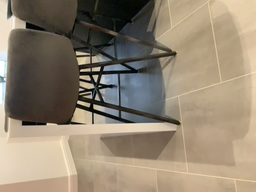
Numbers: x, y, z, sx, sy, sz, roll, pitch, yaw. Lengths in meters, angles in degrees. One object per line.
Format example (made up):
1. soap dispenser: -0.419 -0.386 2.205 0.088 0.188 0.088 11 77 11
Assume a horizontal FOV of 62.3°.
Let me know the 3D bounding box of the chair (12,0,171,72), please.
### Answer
1. chair: -0.250 -0.500 1.410 0.540 0.880 0.470 -20 71 58
